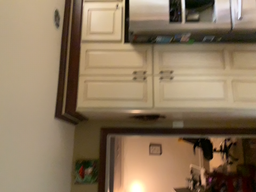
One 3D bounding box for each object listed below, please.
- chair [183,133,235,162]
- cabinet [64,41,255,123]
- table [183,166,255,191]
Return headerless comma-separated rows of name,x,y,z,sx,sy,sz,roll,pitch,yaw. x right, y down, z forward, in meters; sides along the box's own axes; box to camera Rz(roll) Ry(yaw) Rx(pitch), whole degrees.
chair,1.810,1.150,4.820,0.550,0.940,0.590,83,-173,-80
cabinet,0.590,-0.110,2.270,0.620,2.320,0.720,85,-175,-76
table,1.800,1.870,4.450,1.390,0.940,0.600,84,-174,-79
